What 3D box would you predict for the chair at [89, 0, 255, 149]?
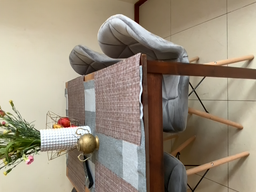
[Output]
[{"bbox_3d":[0.220,-0.080,1.090,0.410,0.730,0.540,-4,87,62],"label":"chair"}]
